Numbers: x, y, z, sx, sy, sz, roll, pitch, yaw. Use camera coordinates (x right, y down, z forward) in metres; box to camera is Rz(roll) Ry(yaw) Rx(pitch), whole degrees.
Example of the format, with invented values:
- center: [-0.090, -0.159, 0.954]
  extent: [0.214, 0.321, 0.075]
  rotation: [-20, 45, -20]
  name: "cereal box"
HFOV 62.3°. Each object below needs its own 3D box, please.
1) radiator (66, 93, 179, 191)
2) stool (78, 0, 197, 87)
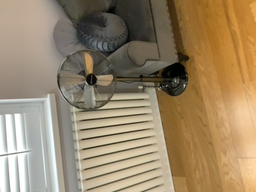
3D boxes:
- center: [0.020, 0.560, 1.500]
  extent: [0.090, 0.780, 1.160]
  rotation: [-23, 73, 52]
  name: "radiator"
- center: [0.010, -0.790, 1.630]
  extent: [0.480, 0.630, 1.360]
  rotation: [-19, 76, 53]
  name: "stool"
